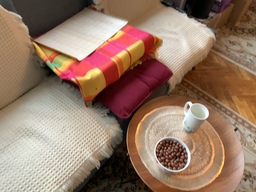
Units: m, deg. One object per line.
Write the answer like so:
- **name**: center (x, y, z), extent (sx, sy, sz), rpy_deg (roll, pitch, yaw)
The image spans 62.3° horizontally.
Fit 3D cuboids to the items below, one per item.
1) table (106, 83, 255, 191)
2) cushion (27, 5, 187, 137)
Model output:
- **table**: center (0.230, 0.320, 1.050), extent (0.470, 0.410, 0.470), rpy_deg (35, 56, 19)
- **cushion**: center (-0.080, -0.170, 1.030), extent (0.500, 0.170, 0.530), rpy_deg (34, 56, 18)
